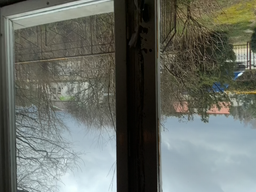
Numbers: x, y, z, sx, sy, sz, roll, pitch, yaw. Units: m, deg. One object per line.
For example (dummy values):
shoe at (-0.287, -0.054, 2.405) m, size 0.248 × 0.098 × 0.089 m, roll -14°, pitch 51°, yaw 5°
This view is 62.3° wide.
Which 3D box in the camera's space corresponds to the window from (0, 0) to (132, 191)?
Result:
window at (-0.880, 0.160, 1.330) m, size 1.900 × 1.530 × 0.150 m, roll 0°, pitch -179°, yaw 24°
